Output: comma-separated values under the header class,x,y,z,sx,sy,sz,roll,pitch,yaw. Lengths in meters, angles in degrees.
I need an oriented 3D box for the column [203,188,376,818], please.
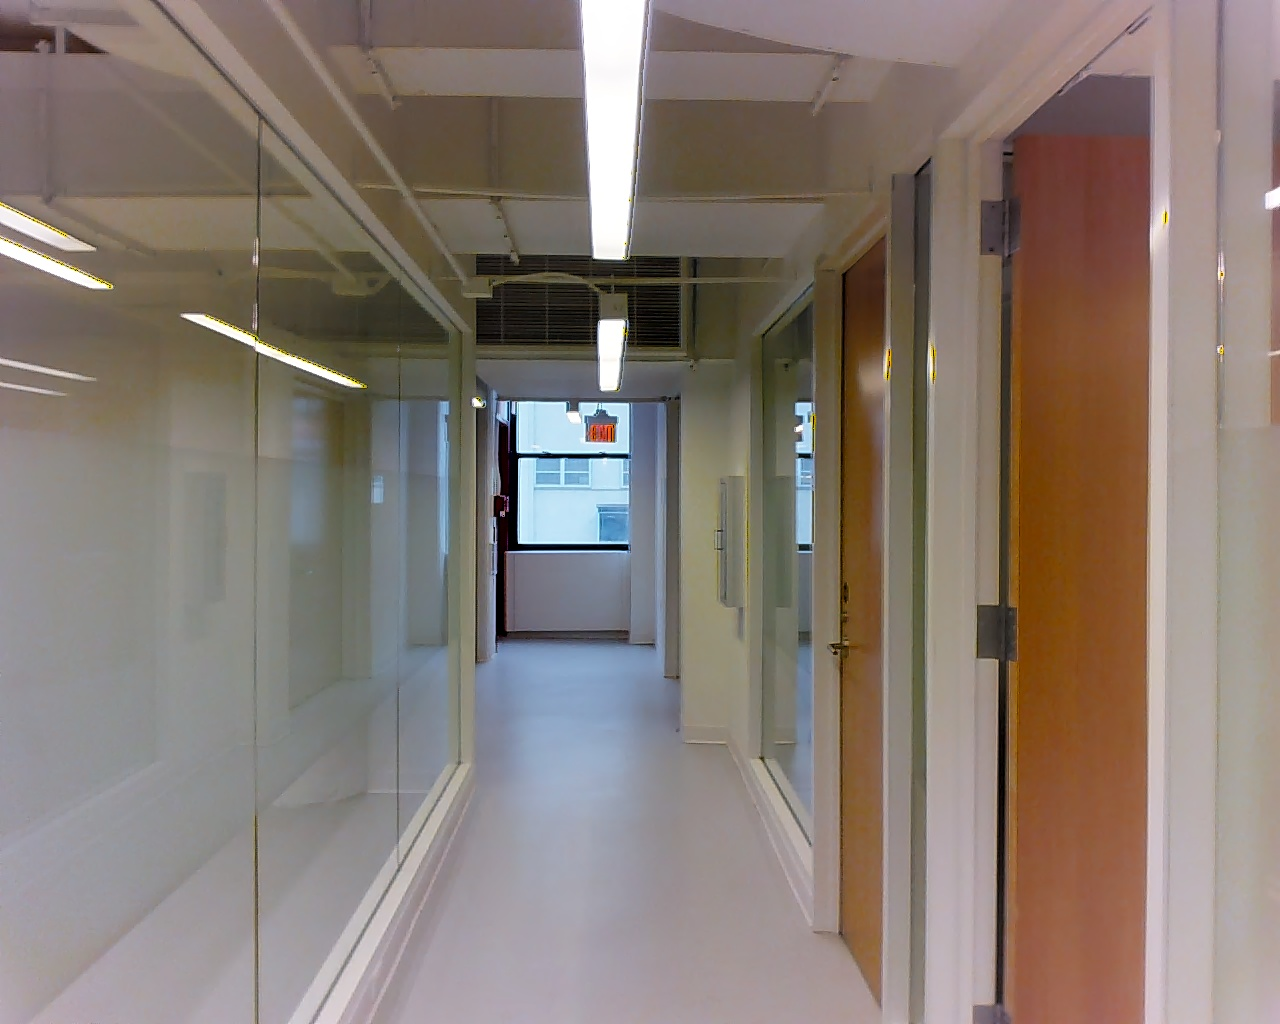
class,x,y,z,sx,sy,sz,roll,pitch,yaw
column,-1.650,-0.040,5.090,0.710,2.891,0.320,0,1,-2
